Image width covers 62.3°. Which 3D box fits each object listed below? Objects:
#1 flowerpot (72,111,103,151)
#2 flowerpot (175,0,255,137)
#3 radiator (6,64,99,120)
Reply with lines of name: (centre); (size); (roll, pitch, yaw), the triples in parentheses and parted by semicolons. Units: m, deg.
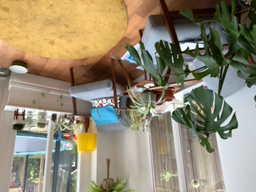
flowerpot: (-0.620, 0.550, 3.250); (0.340, 0.530, 0.310); (-20, 154, 40)
flowerpot: (0.770, -0.370, 1.200); (0.640, 1.090, 0.650); (6, 159, -24)
radiator: (-1.020, -0.010, 3.090); (1.240, 0.560, 0.230); (12, 156, -37)
